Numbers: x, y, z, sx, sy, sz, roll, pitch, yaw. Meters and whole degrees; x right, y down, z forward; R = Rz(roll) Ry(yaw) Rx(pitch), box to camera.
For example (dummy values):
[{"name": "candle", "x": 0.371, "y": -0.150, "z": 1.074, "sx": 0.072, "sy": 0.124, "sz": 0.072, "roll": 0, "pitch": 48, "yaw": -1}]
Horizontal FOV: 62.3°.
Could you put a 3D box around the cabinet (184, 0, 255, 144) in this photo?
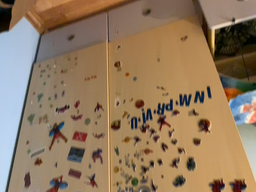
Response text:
[{"name": "cabinet", "x": 0.600, "y": -0.180, "z": 1.240, "sx": 0.340, "sy": 0.710, "sz": 0.580, "roll": -13, "pitch": 147, "yaw": 14}]
